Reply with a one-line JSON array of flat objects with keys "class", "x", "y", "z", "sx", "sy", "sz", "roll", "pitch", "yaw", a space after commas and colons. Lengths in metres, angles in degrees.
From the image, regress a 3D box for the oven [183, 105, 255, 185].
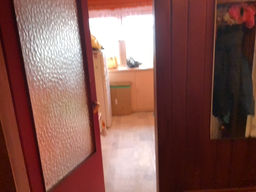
[{"class": "oven", "x": 1.030, "y": 0.540, "z": 2.470, "sx": 0.620, "sy": 0.690, "sz": 0.580, "roll": -2, "pitch": 15, "yaw": 1}]
